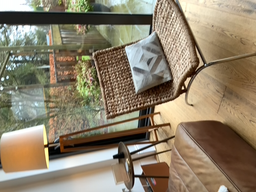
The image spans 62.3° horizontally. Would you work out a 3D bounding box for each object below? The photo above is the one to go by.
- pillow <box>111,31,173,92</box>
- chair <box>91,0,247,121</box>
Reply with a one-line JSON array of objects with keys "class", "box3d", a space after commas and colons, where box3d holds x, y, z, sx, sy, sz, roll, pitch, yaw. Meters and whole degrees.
[{"class": "pillow", "box3d": [0.120, -0.280, 1.650, 0.440, 0.280, 0.110, 50, 129, 1]}, {"class": "chair", "box3d": [0.190, -0.290, 1.560, 0.710, 0.740, 0.630, 120, 140, -59]}]
